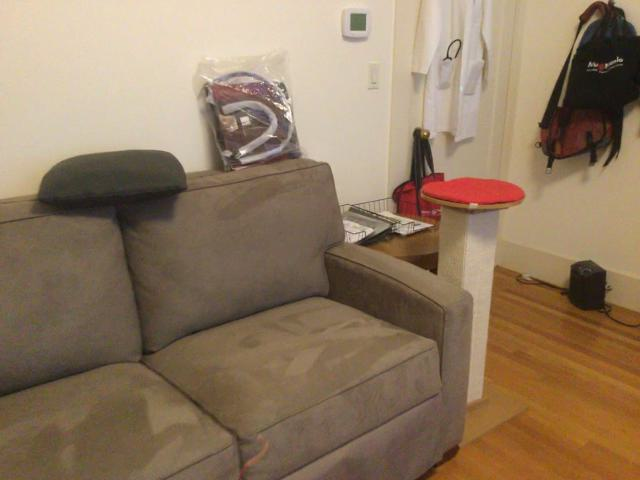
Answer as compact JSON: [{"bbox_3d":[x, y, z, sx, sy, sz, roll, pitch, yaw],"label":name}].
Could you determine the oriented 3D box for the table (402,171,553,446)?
[{"bbox_3d":[0.540,0.220,2.050,0.370,0.850,0.310,-15,22,-36],"label":"table"}]

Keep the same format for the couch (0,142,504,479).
[{"bbox_3d":[-0.450,0.340,1.630,1.690,0.950,1.000,-15,22,-36],"label":"couch"}]

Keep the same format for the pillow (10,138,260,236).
[{"bbox_3d":[-0.530,-0.180,1.700,0.600,0.140,0.360,-15,22,-36],"label":"pillow"}]
